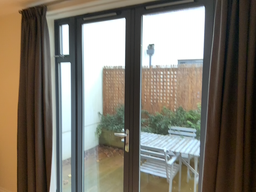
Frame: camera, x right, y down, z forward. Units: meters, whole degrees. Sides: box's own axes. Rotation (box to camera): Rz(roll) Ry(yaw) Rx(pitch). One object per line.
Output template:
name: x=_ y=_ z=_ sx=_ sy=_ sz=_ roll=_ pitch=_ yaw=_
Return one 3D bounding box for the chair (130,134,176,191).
chair: x=0.390 y=1.040 z=3.170 sx=0.490 sy=0.750 sz=0.630 roll=3 pitch=5 yaw=24

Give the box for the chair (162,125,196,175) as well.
chair: x=0.990 y=0.990 z=4.050 sx=0.490 sy=0.700 sz=0.620 roll=3 pitch=5 yaw=26
